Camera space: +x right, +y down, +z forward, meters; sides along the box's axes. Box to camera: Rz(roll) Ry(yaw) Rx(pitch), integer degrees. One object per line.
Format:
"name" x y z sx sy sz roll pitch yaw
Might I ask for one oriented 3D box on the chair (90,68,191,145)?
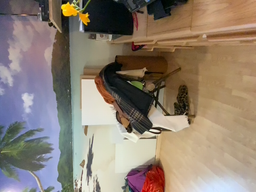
"chair" 0.070 0.120 2.280 0.590 0.870 0.590 117 148 -60
